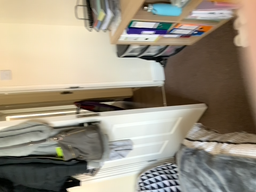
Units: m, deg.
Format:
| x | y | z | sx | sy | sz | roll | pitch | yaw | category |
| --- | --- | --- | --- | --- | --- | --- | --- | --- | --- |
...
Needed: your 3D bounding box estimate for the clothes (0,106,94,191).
| x | y | z | sx | sy | sz | roll | pitch | yaw | category |
| --- | --- | --- | --- | --- | --- | --- | --- | --- | --- |
| -0.630 | 0.550 | 1.410 | 0.420 | 0.720 | 0.830 | -144 | 53 | -64 | clothes |
